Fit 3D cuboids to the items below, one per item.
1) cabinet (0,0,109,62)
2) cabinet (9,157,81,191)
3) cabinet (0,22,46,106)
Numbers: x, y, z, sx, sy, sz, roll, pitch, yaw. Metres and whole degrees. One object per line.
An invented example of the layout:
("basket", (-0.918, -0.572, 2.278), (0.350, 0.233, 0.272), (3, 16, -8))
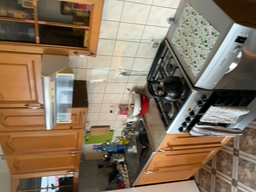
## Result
("cabinet", (-0.530, -0.480, 1.190), (0.410, 0.740, 0.330), (111, 153, -45))
("cabinet", (-0.980, 1.020, 2.570), (0.400, 0.750, 0.390), (-178, 89, -71))
("cabinet", (-0.800, -0.200, 1.460), (0.480, 0.410, 0.310), (111, 153, -45))
